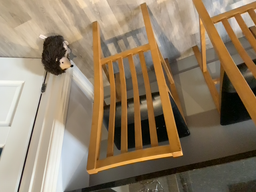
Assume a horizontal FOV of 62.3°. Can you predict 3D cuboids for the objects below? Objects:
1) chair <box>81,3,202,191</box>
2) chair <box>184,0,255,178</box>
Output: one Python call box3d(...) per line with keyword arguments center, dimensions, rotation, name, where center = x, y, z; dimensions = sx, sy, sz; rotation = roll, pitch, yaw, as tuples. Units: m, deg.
box3d(center=(0.060, 0.000, 1.180), dimensions=(0.370, 0.910, 0.480), rotation=(-18, 140, 15), name="chair")
box3d(center=(0.590, -0.170, 1.020), dimensions=(0.370, 0.910, 0.480), rotation=(-18, 140, 15), name="chair")
